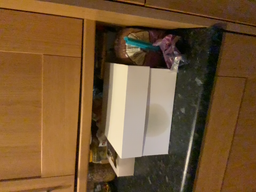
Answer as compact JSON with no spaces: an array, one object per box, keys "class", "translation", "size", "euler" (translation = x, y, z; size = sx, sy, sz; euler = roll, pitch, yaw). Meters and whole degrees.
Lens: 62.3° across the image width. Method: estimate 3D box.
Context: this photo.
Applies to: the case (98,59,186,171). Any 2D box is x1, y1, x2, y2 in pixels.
[{"class":"case","translation":[0.020,0.040,0.720],"size":[0.280,0.170,0.280],"euler":[-140,54,-64]}]
